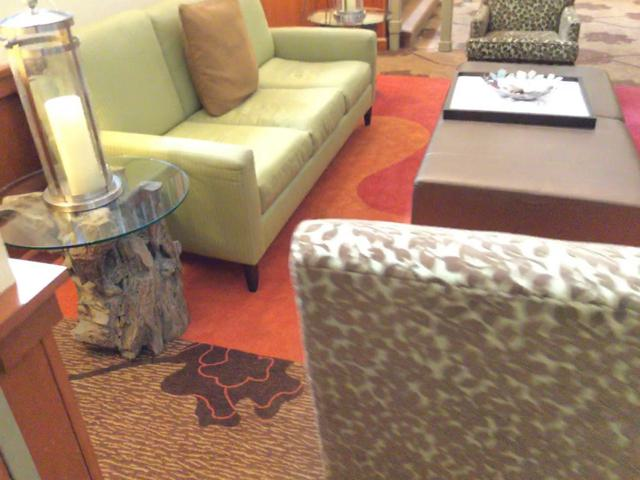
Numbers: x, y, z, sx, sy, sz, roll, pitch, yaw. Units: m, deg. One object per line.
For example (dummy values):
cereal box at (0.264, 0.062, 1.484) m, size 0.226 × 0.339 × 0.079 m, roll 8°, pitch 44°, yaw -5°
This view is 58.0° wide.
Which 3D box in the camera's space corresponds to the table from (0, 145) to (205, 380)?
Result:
table at (-0.740, 0.070, 2.010) m, size 0.420 × 0.650 × 0.410 m, roll 7°, pitch 35°, yaw 18°

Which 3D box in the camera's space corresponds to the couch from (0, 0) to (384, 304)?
couch at (-0.410, -0.780, 3.000) m, size 1.010 × 0.940 × 2.150 m, roll 7°, pitch 35°, yaw 18°
